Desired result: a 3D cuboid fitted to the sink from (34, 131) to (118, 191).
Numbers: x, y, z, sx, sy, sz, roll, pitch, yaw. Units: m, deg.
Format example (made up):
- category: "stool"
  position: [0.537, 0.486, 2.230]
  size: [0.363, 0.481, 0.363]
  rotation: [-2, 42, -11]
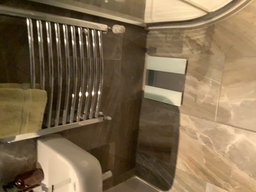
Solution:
- category: "sink"
  position: [-0.290, 0.520, 1.100]
  size: [0.420, 0.210, 0.540]
  rotation: [15, 105, 42]
